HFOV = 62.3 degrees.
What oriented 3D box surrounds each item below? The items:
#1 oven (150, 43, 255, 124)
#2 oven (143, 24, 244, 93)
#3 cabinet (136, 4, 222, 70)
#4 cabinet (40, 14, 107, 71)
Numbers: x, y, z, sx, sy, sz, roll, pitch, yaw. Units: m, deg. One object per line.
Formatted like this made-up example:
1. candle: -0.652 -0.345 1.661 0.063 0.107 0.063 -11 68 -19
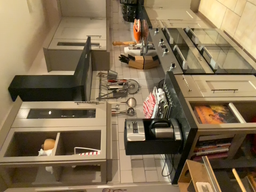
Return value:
1. oven: 0.760 -0.130 2.180 0.500 0.920 0.650 -97 9 -50
2. oven: 0.710 -0.450 2.570 0.510 0.920 0.650 -97 9 -50
3. cabinet: 0.650 -0.870 3.080 0.820 0.920 0.640 -97 9 -50
4. cabinet: -0.710 -0.830 3.120 1.180 0.800 0.340 -97 9 -50
